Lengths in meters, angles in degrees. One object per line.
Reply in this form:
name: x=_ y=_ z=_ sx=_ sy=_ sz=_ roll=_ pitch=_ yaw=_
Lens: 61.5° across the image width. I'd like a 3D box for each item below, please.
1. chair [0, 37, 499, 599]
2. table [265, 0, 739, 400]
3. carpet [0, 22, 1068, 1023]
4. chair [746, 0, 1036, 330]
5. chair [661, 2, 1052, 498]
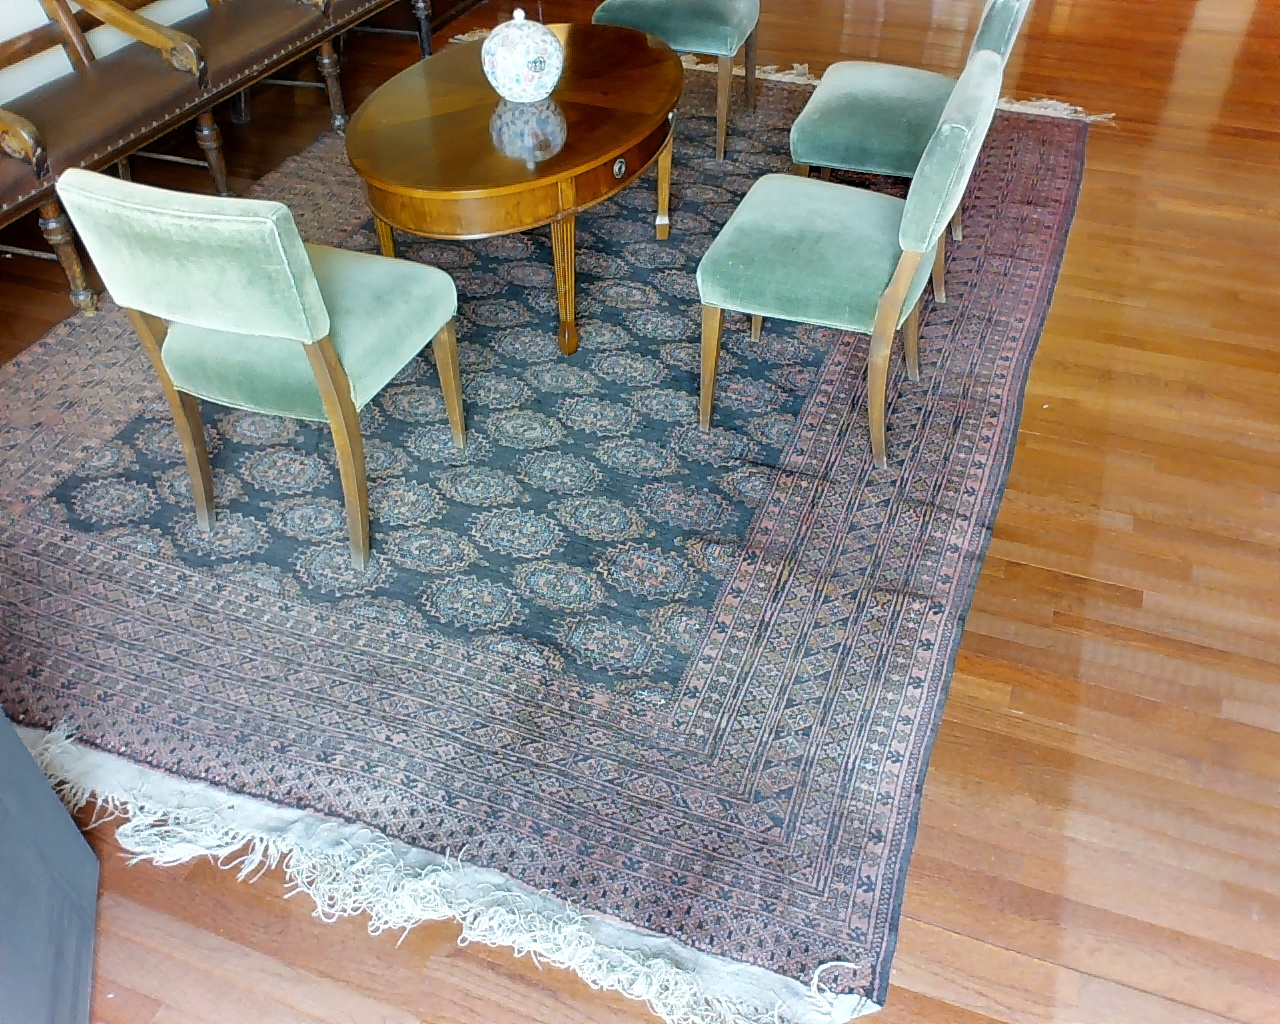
chair: x=-0.710 y=-0.390 z=2.150 sx=0.570 sy=0.820 sz=0.610 roll=14 pitch=44 yaw=15
table: x=-0.290 y=-0.930 z=2.960 sx=0.780 sy=0.510 sz=1.190 roll=14 pitch=44 yaw=15
carpet: x=-0.190 y=-0.670 z=3.090 sx=2.480 sy=0.020 sz=3.680 roll=14 pitch=44 yaw=15
chair: x=0.680 y=-1.060 z=2.910 sx=0.580 sy=0.840 sz=0.600 roll=14 pitch=44 yaw=15
chair: x=0.450 y=-0.580 z=2.370 sx=0.650 sy=0.800 sz=0.570 roll=13 pitch=44 yaw=14
